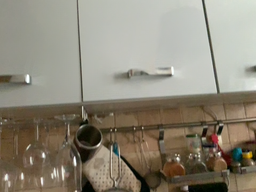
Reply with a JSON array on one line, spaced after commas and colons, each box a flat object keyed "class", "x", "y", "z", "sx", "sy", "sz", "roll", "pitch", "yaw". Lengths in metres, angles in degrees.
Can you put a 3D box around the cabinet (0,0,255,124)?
[{"class": "cabinet", "x": 0.030, "y": -0.250, "z": 0.800, "sx": 1.230, "sy": 0.610, "sz": 0.330, "roll": -4, "pitch": -9, "yaw": -8}]
